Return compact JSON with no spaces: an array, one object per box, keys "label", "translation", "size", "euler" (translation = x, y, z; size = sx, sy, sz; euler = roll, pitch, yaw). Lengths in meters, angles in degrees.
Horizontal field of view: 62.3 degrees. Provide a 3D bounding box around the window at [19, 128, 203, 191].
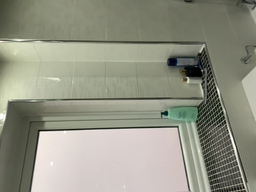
[{"label":"window","translation":[-0.080,0.710,1.250],"size":[0.140,1.080,1.010],"euler":[101,167,-61]}]
